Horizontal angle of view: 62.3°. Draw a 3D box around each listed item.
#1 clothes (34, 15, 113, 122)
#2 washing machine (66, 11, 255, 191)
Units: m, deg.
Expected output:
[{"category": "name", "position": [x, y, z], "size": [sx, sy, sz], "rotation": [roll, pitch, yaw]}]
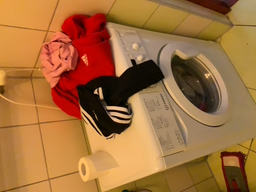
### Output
[{"category": "clothes", "position": [-0.250, -0.090, 0.880], "size": [0.380, 0.150, 0.240], "rotation": [-45, 58, 44]}, {"category": "washing machine", "position": [0.220, 0.040, 1.110], "size": [0.480, 0.840, 0.590], "rotation": [-42, 60, 45]}]
